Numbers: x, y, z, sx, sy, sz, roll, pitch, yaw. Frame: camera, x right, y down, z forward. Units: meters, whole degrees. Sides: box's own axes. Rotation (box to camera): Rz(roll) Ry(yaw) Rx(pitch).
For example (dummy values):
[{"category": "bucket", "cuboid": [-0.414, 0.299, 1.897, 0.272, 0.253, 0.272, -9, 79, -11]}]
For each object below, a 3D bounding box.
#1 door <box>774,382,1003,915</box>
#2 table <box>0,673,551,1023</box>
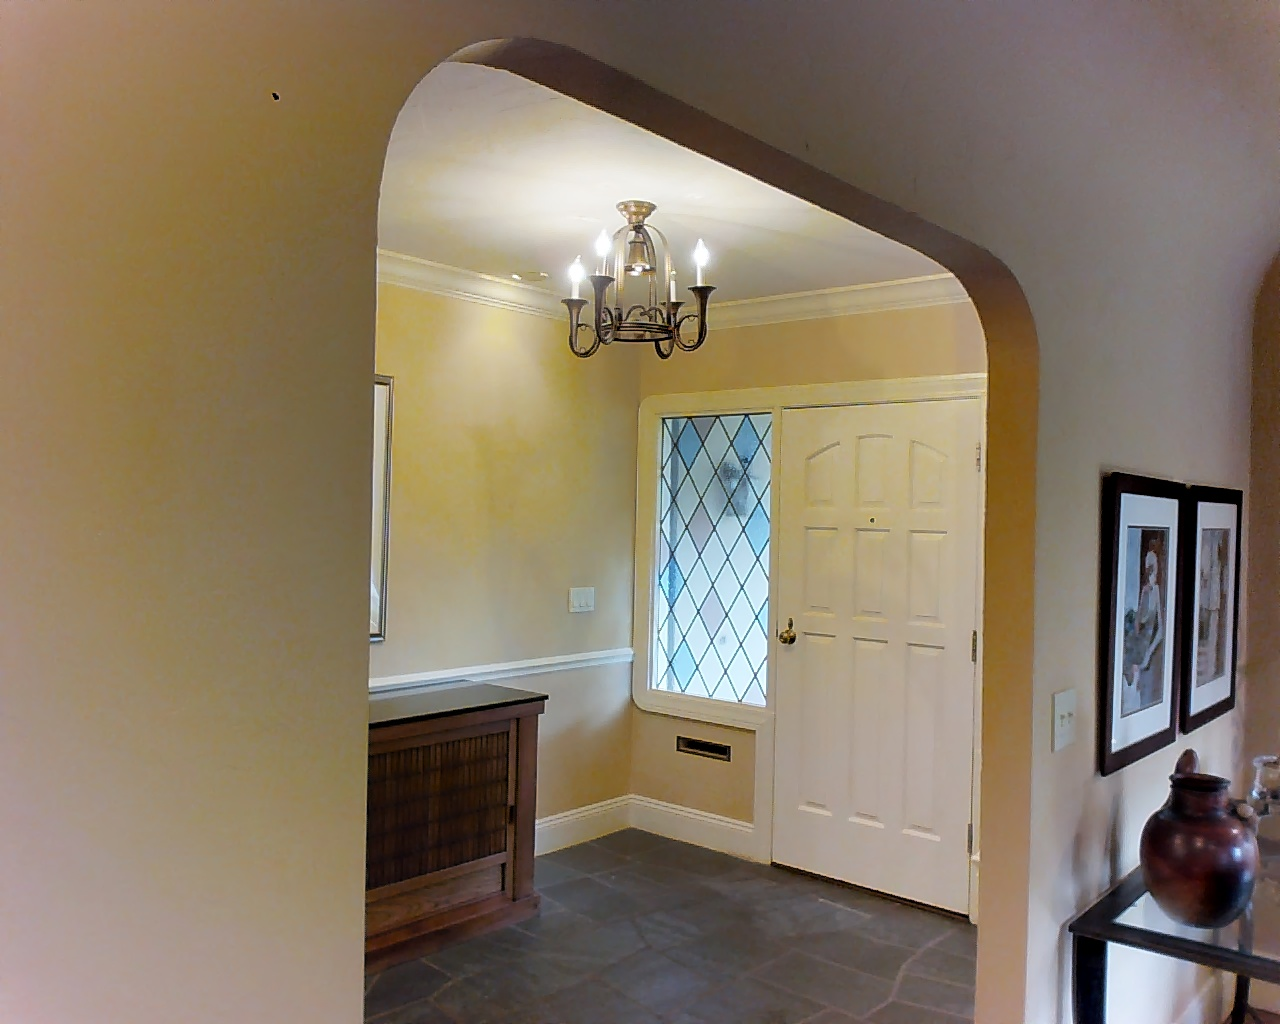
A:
[{"category": "door", "cuboid": [1.010, 0.520, 4.510, 0.970, 2.060, 0.080, 1, 0, 41]}, {"category": "table", "cuboid": [-1.190, 1.100, 3.630, 0.560, 0.860, 1.900, 1, 0, 41]}]
